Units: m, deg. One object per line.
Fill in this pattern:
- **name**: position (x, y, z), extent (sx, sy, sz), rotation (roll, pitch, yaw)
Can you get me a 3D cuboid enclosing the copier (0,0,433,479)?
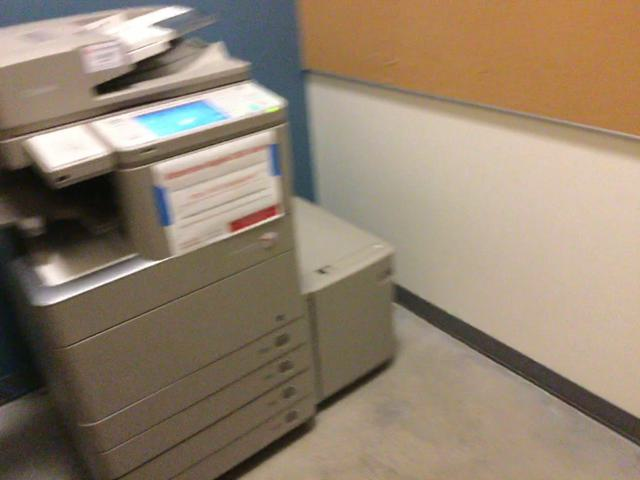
- **copier**: position (-0.350, 0.010, 1.610), extent (1.120, 1.210, 0.670), rotation (-22, 28, -30)
